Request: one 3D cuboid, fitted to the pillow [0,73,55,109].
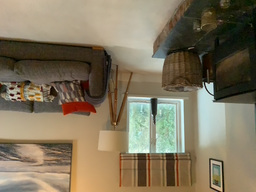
[{"bbox_3d":[-1.390,-0.060,2.900,0.700,0.480,0.130,4,-138,-9],"label":"pillow"}]

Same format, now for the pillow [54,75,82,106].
[{"bbox_3d":[-0.780,-0.070,2.760,0.320,0.340,0.110,12,-147,4],"label":"pillow"}]

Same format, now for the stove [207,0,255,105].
[{"bbox_3d":[0.970,-0.270,1.620,0.460,0.610,0.540,2,171,-8],"label":"stove"}]
